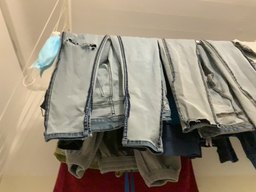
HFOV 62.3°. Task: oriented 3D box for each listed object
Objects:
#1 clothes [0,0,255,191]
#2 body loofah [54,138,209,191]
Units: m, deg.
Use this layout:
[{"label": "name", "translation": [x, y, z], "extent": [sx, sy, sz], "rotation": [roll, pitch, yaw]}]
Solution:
[{"label": "clothes", "translation": [0.250, 0.090, 0.990], "extent": [1.520, 0.750, 0.690], "rotation": [3, -38, -7]}, {"label": "body loofah", "translation": [0.020, 0.390, 1.020], "extent": [0.680, 0.330, 0.130], "rotation": [3, -38, -7]}]
